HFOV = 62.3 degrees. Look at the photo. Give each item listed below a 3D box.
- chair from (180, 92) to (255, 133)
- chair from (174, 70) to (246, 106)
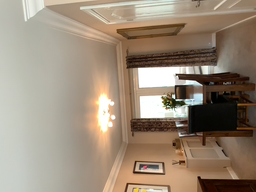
[{"bbox_3d":[1.320,0.220,3.110,0.570,1.000,0.450,-52,-40,-78],"label":"chair"},{"bbox_3d":[1.350,-0.150,3.620,0.460,1.040,0.500,-62,-32,-76],"label":"chair"}]
